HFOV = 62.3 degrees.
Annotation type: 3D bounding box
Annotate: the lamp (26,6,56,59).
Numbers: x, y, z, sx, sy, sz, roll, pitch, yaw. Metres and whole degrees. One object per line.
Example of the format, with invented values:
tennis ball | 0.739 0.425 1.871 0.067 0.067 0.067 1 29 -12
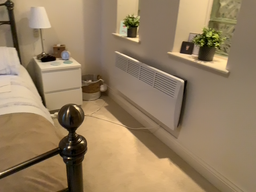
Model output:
lamp | -0.940 -0.690 2.300 0.220 0.520 0.220 -11 29 -27
